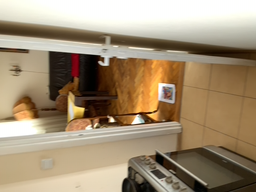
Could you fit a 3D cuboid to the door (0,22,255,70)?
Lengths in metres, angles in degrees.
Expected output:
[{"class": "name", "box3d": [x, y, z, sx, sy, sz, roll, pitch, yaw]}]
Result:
[{"class": "door", "box3d": [-0.130, -0.280, 1.280, 0.710, 1.840, 0.100, 24, 112, 61]}]
